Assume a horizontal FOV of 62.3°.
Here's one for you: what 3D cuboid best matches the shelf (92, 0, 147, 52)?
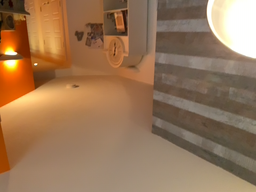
[{"bbox_3d":[-0.170,-1.740,3.470,0.390,1.890,0.970,-15,-157,-39],"label":"shelf"}]
